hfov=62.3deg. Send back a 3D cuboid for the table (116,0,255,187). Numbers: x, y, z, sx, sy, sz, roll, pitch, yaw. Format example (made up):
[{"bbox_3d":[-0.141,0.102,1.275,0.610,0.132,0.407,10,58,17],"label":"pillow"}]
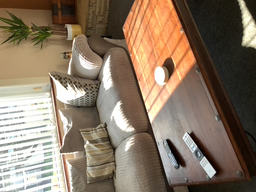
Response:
[{"bbox_3d":[0.360,-0.150,1.320,0.600,0.420,1.230,-48,54,58],"label":"table"}]
